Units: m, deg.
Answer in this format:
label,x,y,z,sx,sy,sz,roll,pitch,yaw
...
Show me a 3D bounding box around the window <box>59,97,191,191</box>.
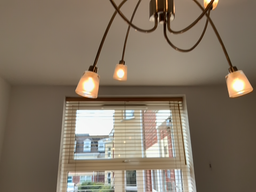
label,x,y,z,sx,sy,sz,roll,pitch,yaw
window,-0.030,0.700,2.010,1.190,1.390,0.100,-1,-18,-2
